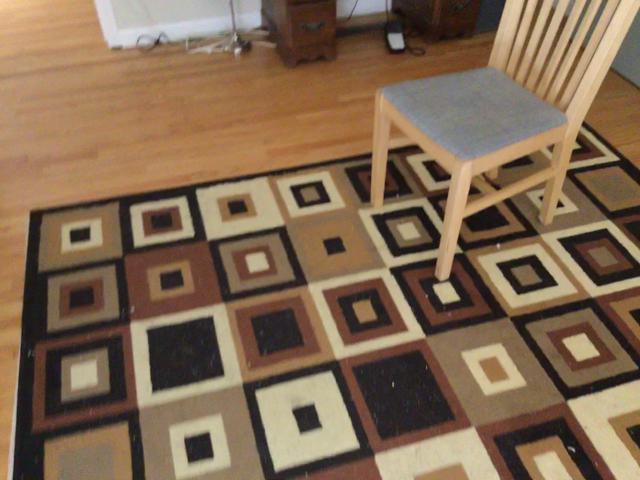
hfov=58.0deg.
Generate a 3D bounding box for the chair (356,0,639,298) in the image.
[{"bbox_3d":[0.510,-0.420,1.650,0.630,0.940,0.500,-19,46,-17],"label":"chair"}]
